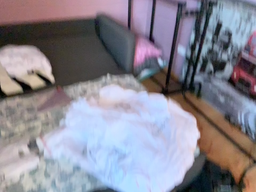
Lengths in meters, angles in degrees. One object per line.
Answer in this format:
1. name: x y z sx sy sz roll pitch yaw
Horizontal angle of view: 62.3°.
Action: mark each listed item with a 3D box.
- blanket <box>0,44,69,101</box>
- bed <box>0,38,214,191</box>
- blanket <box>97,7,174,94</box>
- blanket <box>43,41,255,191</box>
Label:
1. blanket: -0.930 -0.210 1.790 0.720 0.210 0.460 -14 39 -23
2. bed: -0.610 0.120 1.700 1.480 0.350 1.910 -15 40 -25
3. blanket: 0.050 -0.540 2.430 0.630 0.750 0.500 -16 40 -26
4. blanket: 0.010 0.090 1.520 0.910 0.410 1.300 -14 39 -24
